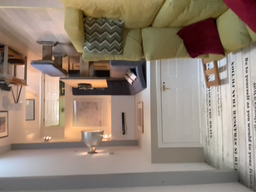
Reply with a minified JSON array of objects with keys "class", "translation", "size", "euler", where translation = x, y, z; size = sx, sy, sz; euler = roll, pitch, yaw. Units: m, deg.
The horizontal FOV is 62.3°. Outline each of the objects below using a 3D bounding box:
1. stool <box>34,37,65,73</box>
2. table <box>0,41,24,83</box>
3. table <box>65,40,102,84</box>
[{"class":"stool","translation":[-1.690,-0.850,4.700],"size":[0.410,0.490,1.260],"euler":[0,177,-9]},{"class":"table","translation":[-2.770,-0.730,4.820],"size":[0.370,0.730,1.110],"euler":[-1,177,-5]},{"class":"table","translation":[-0.970,-0.720,4.920],"size":[0.710,0.740,1.320],"euler":[0,177,-6]}]
